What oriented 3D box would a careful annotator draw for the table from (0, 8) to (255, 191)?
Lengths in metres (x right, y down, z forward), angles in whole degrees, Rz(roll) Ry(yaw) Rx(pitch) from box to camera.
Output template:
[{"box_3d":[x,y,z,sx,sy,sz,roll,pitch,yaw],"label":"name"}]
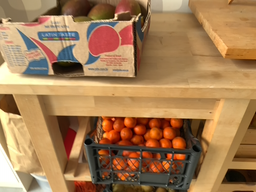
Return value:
[{"box_3d":[0.010,0.160,0.880,0.620,0.870,0.500,1,37,1],"label":"table"}]
